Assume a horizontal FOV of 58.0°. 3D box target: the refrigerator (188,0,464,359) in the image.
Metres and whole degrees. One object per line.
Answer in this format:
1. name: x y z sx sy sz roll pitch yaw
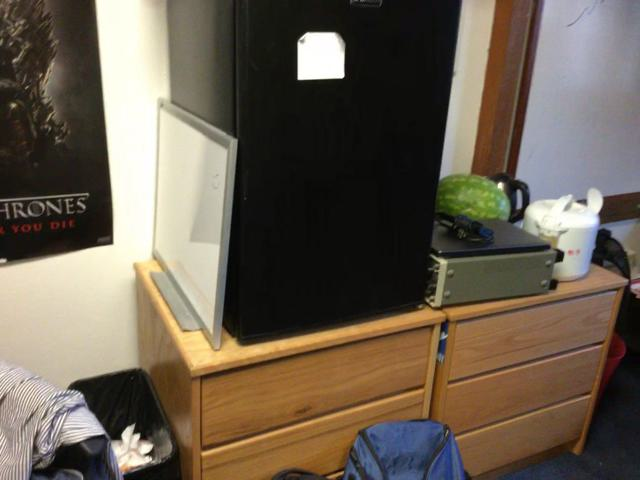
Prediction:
1. refrigerator: 0.010 -0.190 1.330 0.540 0.800 0.230 -8 20 -26

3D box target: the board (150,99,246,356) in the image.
1. board: -0.300 -0.060 1.380 0.080 0.500 0.470 -8 20 -26
